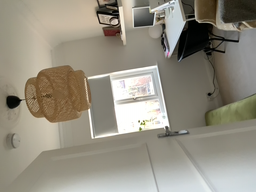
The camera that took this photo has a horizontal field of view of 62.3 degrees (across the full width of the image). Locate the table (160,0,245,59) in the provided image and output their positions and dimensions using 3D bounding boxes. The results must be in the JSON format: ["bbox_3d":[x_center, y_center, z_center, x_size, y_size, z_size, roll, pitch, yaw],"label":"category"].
[{"bbox_3d":[0.950,-1.120,3.080,1.210,0.720,0.670,85,177,-79],"label":"table"}]

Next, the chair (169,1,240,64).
[{"bbox_3d":[1.000,-0.840,2.910,0.530,0.700,0.570,85,176,-81],"label":"chair"}]
